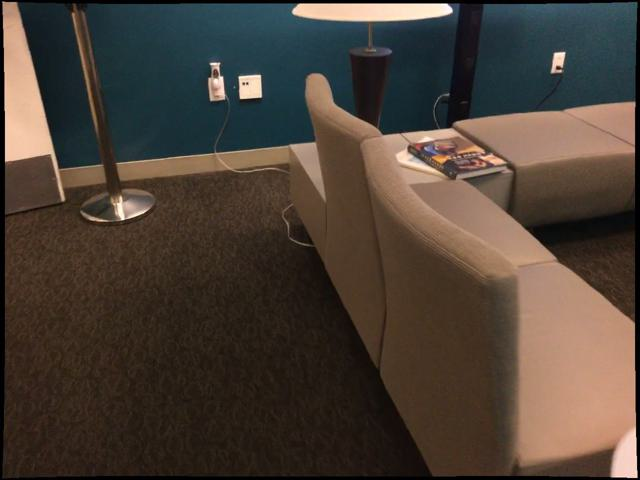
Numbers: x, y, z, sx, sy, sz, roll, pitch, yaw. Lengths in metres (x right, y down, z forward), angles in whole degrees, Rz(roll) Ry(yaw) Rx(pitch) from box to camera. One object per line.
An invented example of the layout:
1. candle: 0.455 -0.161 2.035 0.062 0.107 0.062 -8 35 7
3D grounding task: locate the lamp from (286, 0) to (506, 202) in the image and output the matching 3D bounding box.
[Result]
1. lamp: 0.229 -0.652 2.060 0.579 0.812 0.520 -9 33 -15
